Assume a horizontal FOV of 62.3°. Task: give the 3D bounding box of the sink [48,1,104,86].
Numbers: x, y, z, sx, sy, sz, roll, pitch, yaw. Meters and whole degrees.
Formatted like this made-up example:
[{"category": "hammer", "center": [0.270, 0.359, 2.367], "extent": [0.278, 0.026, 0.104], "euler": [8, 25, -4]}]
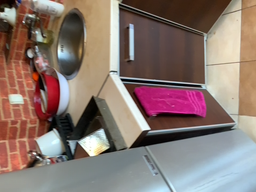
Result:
[{"category": "sink", "center": [-0.360, -0.310, 1.420], "extent": [0.410, 0.200, 0.450], "euler": [-1, 88, 50]}]
